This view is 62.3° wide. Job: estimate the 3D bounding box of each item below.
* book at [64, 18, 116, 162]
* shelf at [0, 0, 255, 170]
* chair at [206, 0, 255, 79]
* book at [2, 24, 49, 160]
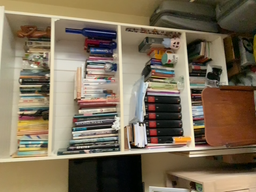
[{"bbox_3d":[-0.290,-0.040,1.550,0.280,0.320,0.960,142,127,-70],"label":"book"},{"bbox_3d":[0.170,-0.040,1.620,0.400,2.160,0.960,151,119,-72],"label":"shelf"},{"bbox_3d":[0.990,-0.380,1.530,0.430,0.660,0.430,162,108,-73],"label":"chair"},{"bbox_3d":[-0.680,-0.030,1.450,0.180,0.220,0.870,148,122,-71],"label":"book"}]
